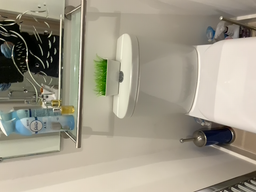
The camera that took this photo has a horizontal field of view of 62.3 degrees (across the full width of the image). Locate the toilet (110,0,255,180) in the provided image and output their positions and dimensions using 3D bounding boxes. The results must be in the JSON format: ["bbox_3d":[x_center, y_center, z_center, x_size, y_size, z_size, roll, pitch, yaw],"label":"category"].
[{"bbox_3d":[0.440,-0.050,0.930,0.630,0.810,0.390,15,102,57],"label":"toilet"}]
